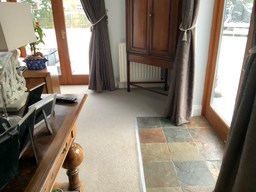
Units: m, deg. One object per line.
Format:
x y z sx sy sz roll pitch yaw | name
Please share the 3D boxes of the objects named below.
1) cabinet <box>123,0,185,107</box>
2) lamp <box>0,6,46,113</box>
0.320 -0.860 3.090 0.720 1.880 0.730 -2 22 -3 | cabinet
-0.810 -0.250 1.300 0.340 0.550 0.490 -1 22 1 | lamp
